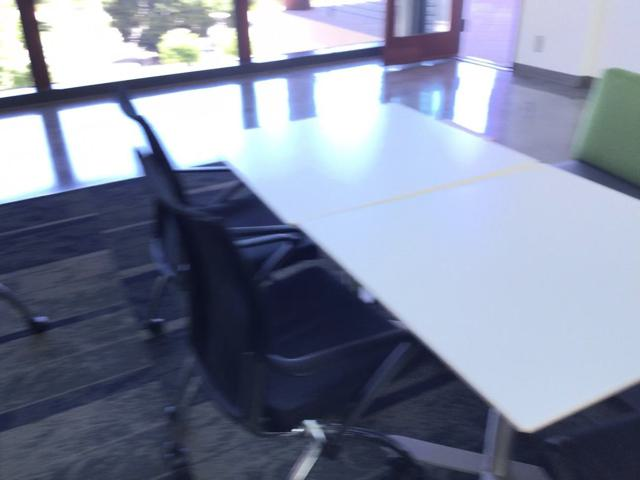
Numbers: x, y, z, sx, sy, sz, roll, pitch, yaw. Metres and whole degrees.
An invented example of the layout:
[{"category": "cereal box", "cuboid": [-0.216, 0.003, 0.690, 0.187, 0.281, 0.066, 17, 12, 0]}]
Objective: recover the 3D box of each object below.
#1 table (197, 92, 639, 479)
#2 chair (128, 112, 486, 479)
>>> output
[{"category": "table", "cuboid": [0.280, 0.170, 1.650, 0.820, 0.780, 1.500, -12, 30, -22]}, {"category": "chair", "cuboid": [-0.070, 0.240, 1.380, 0.560, 0.910, 0.550, -11, 30, -20]}]
